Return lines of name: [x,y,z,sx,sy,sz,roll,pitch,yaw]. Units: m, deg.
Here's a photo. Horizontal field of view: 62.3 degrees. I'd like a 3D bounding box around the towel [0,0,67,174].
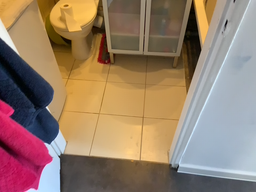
towel: [-0.320,-0.030,0.590,0.150,0.620,0.260,-6,51,-5]
